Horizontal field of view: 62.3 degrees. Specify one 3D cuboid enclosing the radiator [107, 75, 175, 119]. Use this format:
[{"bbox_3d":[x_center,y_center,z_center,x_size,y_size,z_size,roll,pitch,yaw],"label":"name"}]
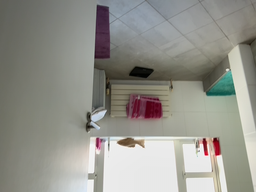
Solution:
[{"bbox_3d":[0.160,0.010,2.830,0.870,0.580,0.110,1,160,-5],"label":"radiator"}]
